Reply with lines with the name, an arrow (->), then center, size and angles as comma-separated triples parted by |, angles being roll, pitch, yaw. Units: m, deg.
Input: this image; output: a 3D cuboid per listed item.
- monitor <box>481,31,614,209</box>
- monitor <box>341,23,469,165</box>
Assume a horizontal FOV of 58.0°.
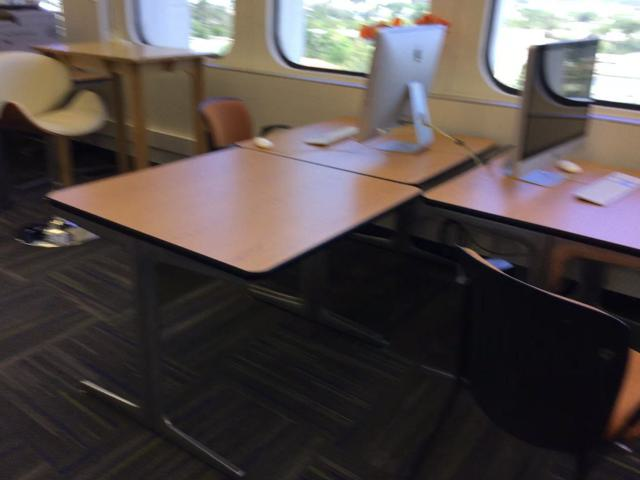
monitor -> 0.860, -0.480, 2.150 | 0.190, 0.530, 0.740 | 14, 26, 36
monitor -> 0.380, -0.650, 2.480 | 0.230, 0.510, 0.650 | 14, 26, 36
